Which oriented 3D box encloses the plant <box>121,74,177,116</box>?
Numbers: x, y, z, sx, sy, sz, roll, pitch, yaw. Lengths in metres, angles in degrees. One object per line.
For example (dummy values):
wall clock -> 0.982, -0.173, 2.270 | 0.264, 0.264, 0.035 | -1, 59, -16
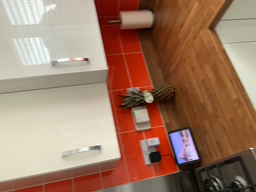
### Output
plant -> 0.130, -0.010, 1.400 | 0.120, 0.310, 0.210 | 109, 150, -62
